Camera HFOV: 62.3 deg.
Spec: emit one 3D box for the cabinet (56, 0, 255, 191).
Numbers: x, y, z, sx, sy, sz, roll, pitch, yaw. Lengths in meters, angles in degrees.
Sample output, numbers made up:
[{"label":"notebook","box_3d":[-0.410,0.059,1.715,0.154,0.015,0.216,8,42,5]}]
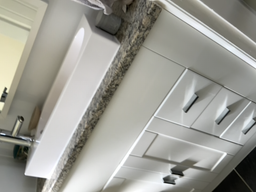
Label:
[{"label":"cabinet","box_3d":[0.190,0.110,1.010,0.760,0.790,0.360,-58,31,20]}]
